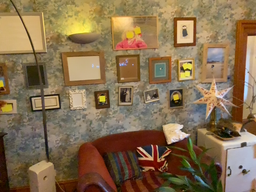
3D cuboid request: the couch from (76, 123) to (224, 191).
[{"bbox_3d":[0.150,0.920,2.500,1.400,0.770,1.070,-5,10,-14],"label":"couch"}]
